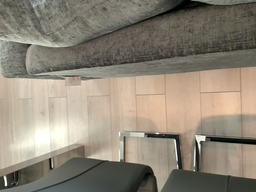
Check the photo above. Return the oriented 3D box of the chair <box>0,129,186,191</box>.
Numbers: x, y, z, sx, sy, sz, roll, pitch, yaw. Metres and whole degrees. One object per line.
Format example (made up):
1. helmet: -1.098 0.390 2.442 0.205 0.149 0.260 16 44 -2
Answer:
1. chair: -0.080 0.490 0.870 0.400 1.000 0.530 -3 91 28
